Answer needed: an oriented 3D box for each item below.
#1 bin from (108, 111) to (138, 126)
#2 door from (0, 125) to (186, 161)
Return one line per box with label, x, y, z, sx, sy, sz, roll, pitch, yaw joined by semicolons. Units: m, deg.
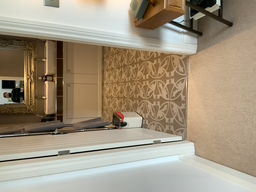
bin;-0.060;0.260;2.540;0.230;0.280;0.160;-3;85;62
door;-0.580;0.340;1.710;0.850;1.960;0.040;4;91;63
